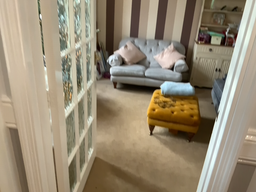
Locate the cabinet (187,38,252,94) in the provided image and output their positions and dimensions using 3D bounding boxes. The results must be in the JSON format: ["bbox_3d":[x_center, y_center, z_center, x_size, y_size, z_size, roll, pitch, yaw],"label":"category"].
[{"bbox_3d":[1.740,-0.610,4.200,0.930,0.880,0.510,8,25,9],"label":"cabinet"}]
